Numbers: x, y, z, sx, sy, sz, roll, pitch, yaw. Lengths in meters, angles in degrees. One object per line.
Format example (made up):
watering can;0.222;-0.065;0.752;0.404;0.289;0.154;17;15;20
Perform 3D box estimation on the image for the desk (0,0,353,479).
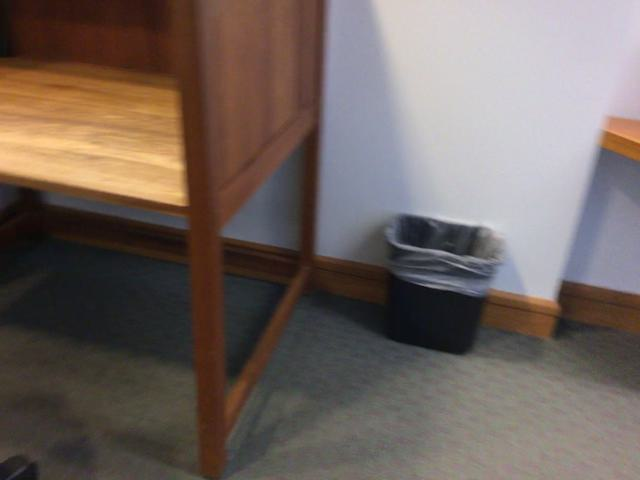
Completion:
desk;-0.720;-0.330;1.630;1.390;1.450;1.040;9;28;12
